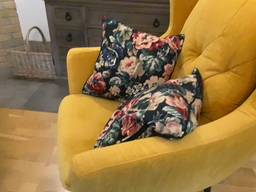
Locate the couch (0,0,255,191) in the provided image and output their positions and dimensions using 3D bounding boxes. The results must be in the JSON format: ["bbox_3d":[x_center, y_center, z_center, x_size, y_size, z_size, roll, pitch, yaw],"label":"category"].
[{"bbox_3d":[0.160,0.030,1.020,0.990,1.050,0.850,-6,35,-13],"label":"couch"}]
